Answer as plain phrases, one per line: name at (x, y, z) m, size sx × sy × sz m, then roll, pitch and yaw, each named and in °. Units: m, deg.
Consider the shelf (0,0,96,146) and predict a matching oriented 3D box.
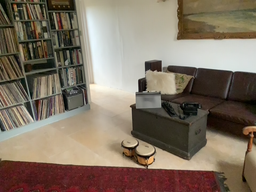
shelf at (-1.550, -0.740, 2.960) m, size 2.090 × 2.630 × 0.350 m, roll -20°, pitch 25°, yaw -40°
